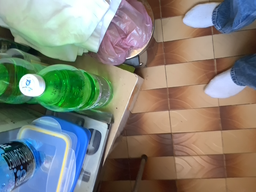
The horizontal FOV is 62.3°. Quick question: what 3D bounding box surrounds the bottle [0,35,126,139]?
[{"bbox_3d":[-0.180,-0.030,0.490,0.280,0.330,0.140,8,93,10],"label":"bottle"}]
